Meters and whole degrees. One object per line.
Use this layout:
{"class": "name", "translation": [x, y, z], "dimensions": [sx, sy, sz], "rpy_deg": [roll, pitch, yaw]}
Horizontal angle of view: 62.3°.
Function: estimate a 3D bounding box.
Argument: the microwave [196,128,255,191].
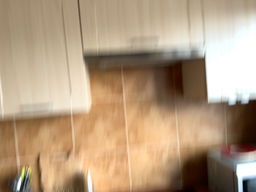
{"class": "microwave", "translation": [0.720, 0.420, 1.280], "dimensions": [0.420, 0.340, 0.410], "rpy_deg": [-5, 3, -11]}
